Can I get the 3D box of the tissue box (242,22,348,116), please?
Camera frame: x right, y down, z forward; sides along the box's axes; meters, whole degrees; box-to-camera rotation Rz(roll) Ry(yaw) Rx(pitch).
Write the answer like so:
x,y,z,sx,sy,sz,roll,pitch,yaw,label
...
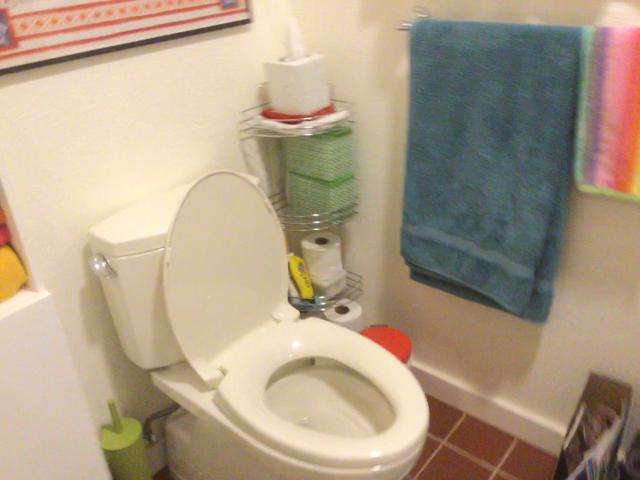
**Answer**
x,y,z,sx,sy,sz,roll,pitch,yaw,label
-0.060,-0.440,1.470,0.180,0.200,0.180,16,30,39,tissue box
